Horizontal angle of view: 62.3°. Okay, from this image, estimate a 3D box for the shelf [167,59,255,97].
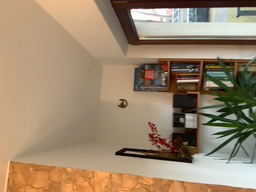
[{"bbox_3d":[1.320,-0.160,2.140,0.300,1.810,0.320,26,-113,-79],"label":"shelf"}]
